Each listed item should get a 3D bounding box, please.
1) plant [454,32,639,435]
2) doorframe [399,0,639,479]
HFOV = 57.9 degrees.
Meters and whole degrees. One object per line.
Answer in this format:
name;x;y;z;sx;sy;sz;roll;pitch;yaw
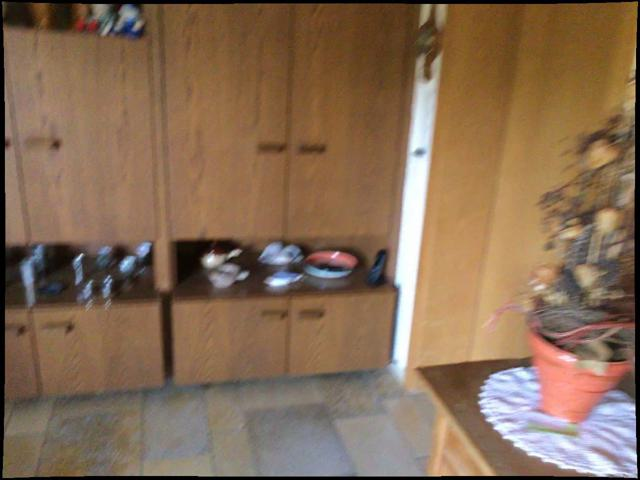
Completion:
plant;0.509;-0.030;1.110;0.270;0.671;0.350;-1;20;-15
doorframe;0.669;-0.160;1.950;0.290;1.962;0.810;-1;20;-15
